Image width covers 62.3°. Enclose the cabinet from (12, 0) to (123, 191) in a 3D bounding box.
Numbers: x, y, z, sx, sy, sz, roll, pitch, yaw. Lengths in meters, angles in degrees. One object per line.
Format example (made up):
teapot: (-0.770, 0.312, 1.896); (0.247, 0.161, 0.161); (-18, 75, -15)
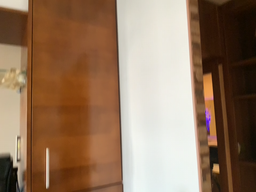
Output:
cabinet: (-0.410, 0.550, 1.350); (0.550, 2.460, 0.570); (1, -7, -31)
